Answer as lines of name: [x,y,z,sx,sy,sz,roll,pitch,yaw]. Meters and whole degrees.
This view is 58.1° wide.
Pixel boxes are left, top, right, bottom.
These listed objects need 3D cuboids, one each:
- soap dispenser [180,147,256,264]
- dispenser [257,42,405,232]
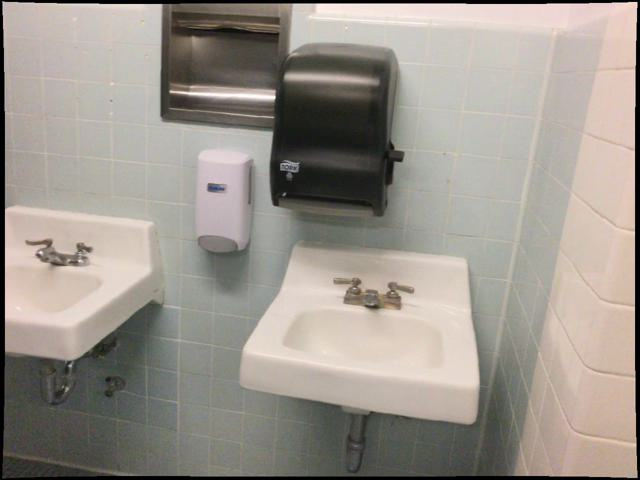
soap dispenser: [-0.289,-0.100,1.640,0.180,0.301,0.110,6,18,9]
dispenser: [0.030,-0.271,1.470,0.319,0.421,0.230,6,18,9]
